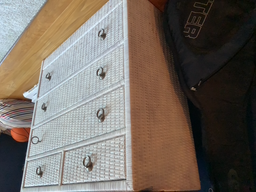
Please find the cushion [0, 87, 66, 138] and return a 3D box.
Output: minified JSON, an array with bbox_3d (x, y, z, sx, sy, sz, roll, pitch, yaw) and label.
[{"bbox_3d":[-1.150,0.220,2.260,0.680,0.250,0.680,20,149,-38],"label":"cushion"}]
